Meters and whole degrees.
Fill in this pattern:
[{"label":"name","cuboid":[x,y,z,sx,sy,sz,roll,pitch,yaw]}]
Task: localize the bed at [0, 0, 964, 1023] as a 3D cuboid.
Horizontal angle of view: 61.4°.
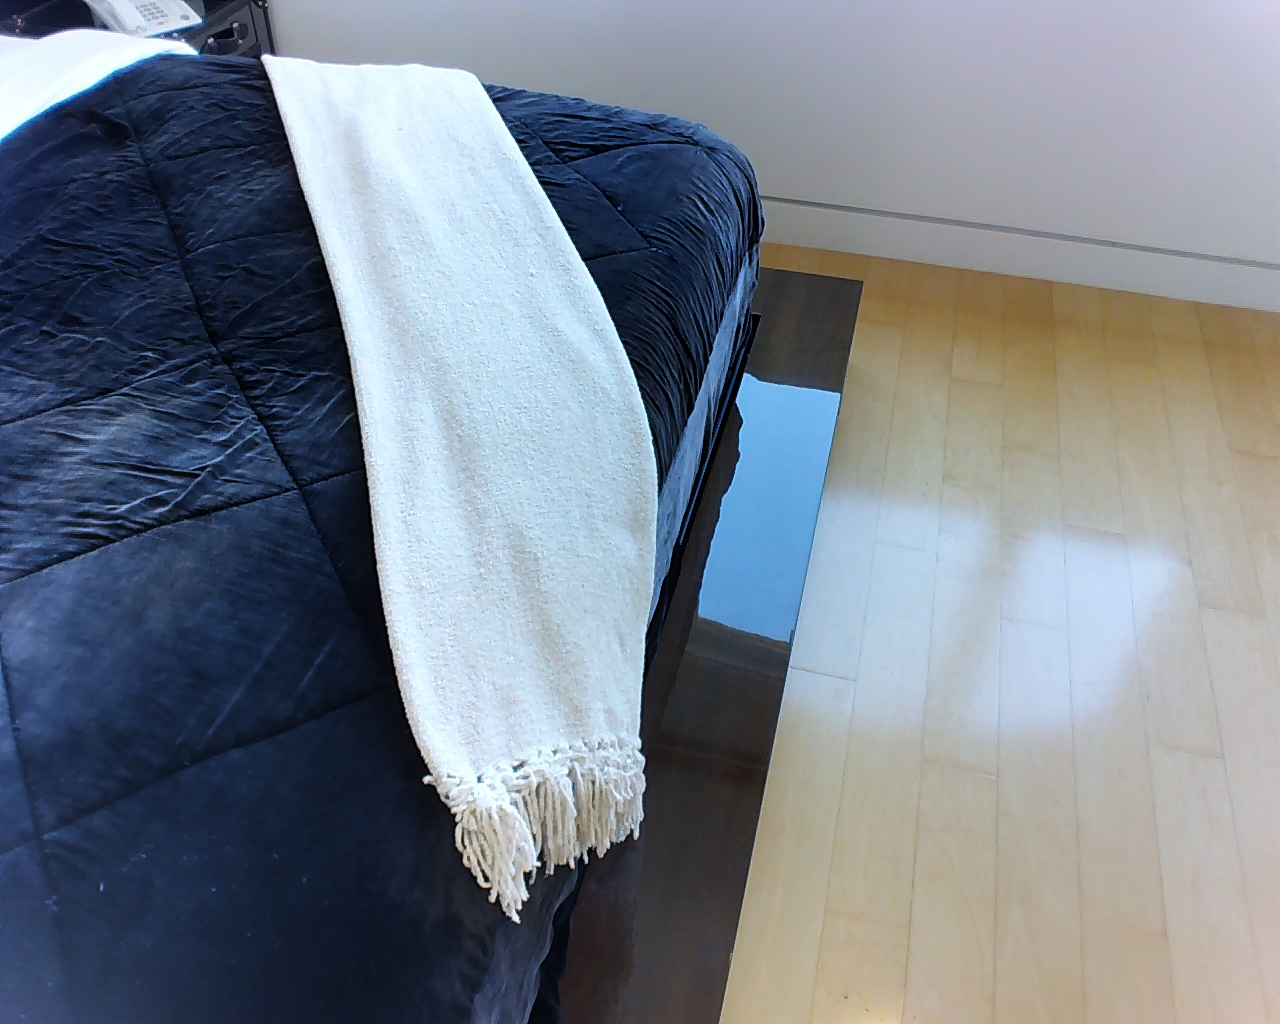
[{"label":"bed","cuboid":[-0.870,-0.280,1.700,2.439,1.280,2.550,10,43,10]}]
